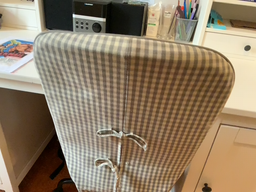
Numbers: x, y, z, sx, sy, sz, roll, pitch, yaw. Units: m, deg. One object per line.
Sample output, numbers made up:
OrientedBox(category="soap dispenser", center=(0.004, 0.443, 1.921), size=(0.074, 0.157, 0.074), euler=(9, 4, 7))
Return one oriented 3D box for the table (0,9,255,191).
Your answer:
OrientedBox(category="table", center=(-0.110, 0.100, 1.050), size=(1.590, 0.730, 0.700), euler=(10, 31, 6))
